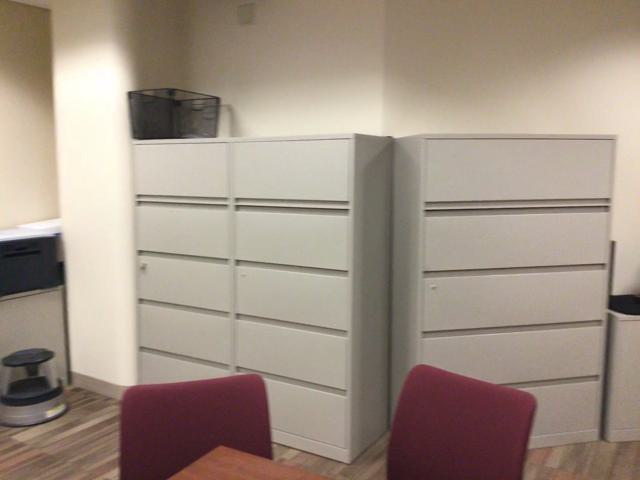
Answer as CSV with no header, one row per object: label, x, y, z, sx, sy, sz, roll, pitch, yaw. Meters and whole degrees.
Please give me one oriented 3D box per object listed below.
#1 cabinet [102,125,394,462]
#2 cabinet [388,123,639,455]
cabinet,-0.480,0.230,3.310,1.770,1.550,0.440,1,4,34
cabinet,0.910,0.230,2.820,1.120,1.510,0.340,-1,3,5
